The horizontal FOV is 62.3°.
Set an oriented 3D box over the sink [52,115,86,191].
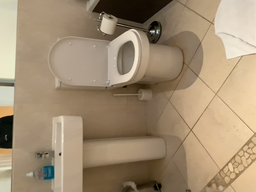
[{"bbox_3d":[-0.410,0.400,1.440,0.410,0.140,0.530,-12,77,62],"label":"sink"}]
